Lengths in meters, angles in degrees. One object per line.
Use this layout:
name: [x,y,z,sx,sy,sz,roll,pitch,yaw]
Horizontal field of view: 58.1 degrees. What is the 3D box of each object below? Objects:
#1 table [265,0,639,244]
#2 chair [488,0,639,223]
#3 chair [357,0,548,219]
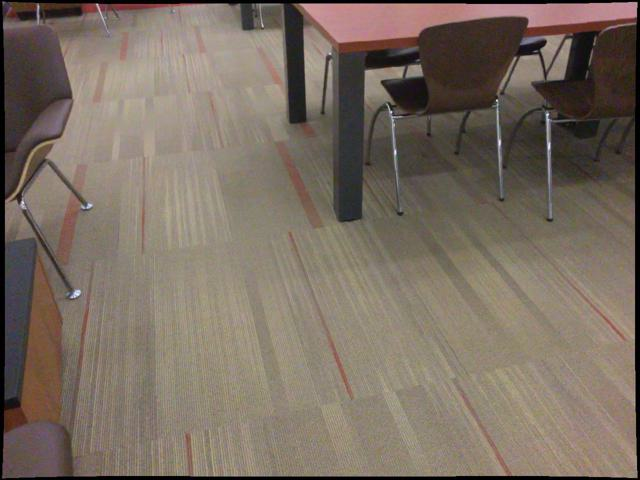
table: [1.307,-0.973,3.020,2.923,0.821,1.401,-11,36,-11]
chair: [1.167,-0.612,2.450,0.529,0.761,0.670,-11,36,-11]
chair: [0.509,-0.632,2.520,0.509,0.771,0.660,-11,36,-11]
